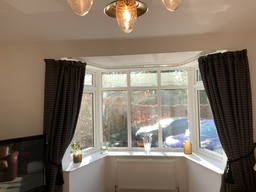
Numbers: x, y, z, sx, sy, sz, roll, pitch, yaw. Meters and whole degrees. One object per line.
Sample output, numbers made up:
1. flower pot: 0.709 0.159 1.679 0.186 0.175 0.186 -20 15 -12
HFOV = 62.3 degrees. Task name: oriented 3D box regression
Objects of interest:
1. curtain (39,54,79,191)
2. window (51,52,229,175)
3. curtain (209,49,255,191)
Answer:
1. curtain: -0.960 0.630 2.970 0.500 2.400 0.170 -1 -1 7
2. window: 0.170 0.270 3.580 2.540 1.680 1.050 -1 -1 8
3. curtain: 1.400 0.550 2.750 0.570 2.280 0.160 -1 -1 7
